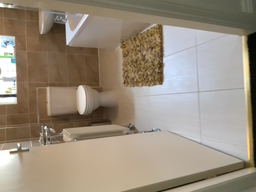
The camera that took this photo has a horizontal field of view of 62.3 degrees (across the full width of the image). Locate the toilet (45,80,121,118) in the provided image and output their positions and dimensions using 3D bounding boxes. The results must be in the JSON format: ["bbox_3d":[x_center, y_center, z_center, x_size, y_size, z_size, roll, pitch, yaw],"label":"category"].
[{"bbox_3d":[-0.580,0.030,2.610,0.680,0.750,0.380,-5,87,64],"label":"toilet"}]
